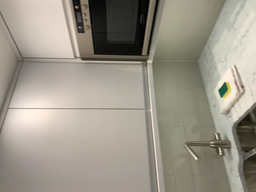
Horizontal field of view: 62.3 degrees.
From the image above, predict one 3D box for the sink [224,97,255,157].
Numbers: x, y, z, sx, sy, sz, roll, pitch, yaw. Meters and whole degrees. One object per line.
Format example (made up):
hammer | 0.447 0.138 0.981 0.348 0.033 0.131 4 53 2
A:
sink | 0.690 0.170 1.070 0.320 0.230 0.180 97 173 -56
